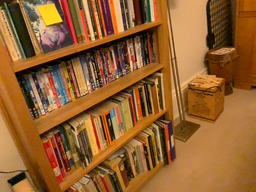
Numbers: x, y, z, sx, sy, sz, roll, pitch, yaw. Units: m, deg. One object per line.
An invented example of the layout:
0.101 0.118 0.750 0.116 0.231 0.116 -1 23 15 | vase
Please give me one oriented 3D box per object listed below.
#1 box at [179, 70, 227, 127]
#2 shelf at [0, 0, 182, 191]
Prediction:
0.730 0.010 2.070 0.330 0.410 0.300 16 35 42 | box
-0.190 -0.270 1.030 0.380 1.990 0.960 15 35 41 | shelf
